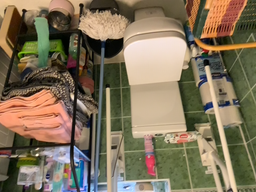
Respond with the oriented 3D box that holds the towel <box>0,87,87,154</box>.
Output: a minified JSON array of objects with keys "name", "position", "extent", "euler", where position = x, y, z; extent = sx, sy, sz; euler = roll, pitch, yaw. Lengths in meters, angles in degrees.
[{"name":"towel","position":[-0.500,0.160,1.170],"extent":[0.450,0.190,0.460],"euler":[-3,153,1]}]
